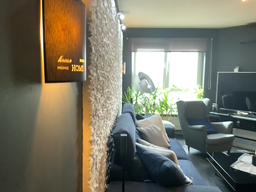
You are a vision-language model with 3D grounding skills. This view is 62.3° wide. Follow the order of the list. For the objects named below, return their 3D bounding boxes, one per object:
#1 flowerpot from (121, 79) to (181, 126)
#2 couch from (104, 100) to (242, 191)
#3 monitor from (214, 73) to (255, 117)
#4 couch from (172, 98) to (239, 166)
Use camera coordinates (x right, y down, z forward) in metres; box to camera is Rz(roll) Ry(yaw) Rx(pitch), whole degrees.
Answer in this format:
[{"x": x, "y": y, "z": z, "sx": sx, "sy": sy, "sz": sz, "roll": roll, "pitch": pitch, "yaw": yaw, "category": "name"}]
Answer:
[{"x": 0.520, "y": 0.110, "z": 5.060, "sx": 1.300, "sy": 0.990, "sz": 0.740, "roll": 2, "pitch": 7, "yaw": 3, "category": "flowerpot"}, {"x": 0.340, "y": 0.730, "z": 2.810, "sx": 1.030, "sy": 1.010, "sz": 2.350, "roll": 1, "pitch": 7, "yaw": 0, "category": "couch"}, {"x": 2.550, "y": -0.020, "z": 4.490, "sx": 0.090, "sy": 0.880, "sz": 1.390, "roll": -5, "pitch": 9, "yaw": -40, "category": "monitor"}, {"x": 1.450, "y": 0.610, "z": 4.090, "sx": 0.670, "sy": 1.010, "sz": 0.930, "roll": -3, "pitch": 8, "yaw": -31, "category": "couch"}]
